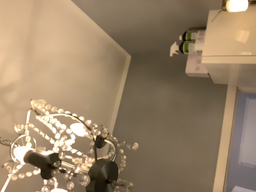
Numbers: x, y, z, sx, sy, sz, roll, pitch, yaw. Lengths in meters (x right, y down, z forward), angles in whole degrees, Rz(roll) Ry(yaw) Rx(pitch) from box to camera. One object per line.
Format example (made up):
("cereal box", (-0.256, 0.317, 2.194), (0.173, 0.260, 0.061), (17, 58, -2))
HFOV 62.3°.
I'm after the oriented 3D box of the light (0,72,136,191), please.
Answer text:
("light", (-0.350, 0.270, 0.920), (0.460, 0.590, 0.880), (7, 175, 19))
